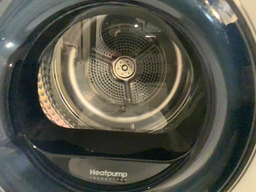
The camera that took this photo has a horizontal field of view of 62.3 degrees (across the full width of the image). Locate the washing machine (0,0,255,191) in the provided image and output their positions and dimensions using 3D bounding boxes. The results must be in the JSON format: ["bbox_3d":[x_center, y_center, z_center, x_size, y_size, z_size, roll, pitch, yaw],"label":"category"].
[{"bbox_3d":[-0.040,0.010,0.730,0.620,0.890,0.740,4,9,0],"label":"washing machine"}]
